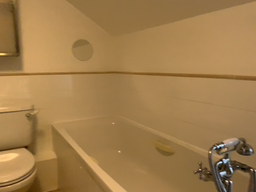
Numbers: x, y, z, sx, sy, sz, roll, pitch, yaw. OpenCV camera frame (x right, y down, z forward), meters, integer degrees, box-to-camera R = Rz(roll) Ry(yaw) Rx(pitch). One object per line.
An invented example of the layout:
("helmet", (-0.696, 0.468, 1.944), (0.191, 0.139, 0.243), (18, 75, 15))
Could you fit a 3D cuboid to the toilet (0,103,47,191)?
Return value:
("toilet", (-0.870, 0.510, 1.520), (0.420, 0.790, 0.660), (-6, 10, -30))
